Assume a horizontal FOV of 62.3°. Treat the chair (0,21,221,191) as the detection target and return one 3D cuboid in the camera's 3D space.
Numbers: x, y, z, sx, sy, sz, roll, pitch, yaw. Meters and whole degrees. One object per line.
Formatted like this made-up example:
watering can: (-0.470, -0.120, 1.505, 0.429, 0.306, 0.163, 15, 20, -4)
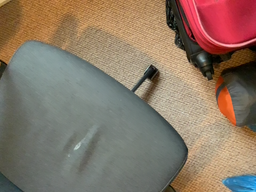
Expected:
chair: (-0.270, 0.270, 0.440, 0.630, 1.260, 0.640, 34, 104, 5)
